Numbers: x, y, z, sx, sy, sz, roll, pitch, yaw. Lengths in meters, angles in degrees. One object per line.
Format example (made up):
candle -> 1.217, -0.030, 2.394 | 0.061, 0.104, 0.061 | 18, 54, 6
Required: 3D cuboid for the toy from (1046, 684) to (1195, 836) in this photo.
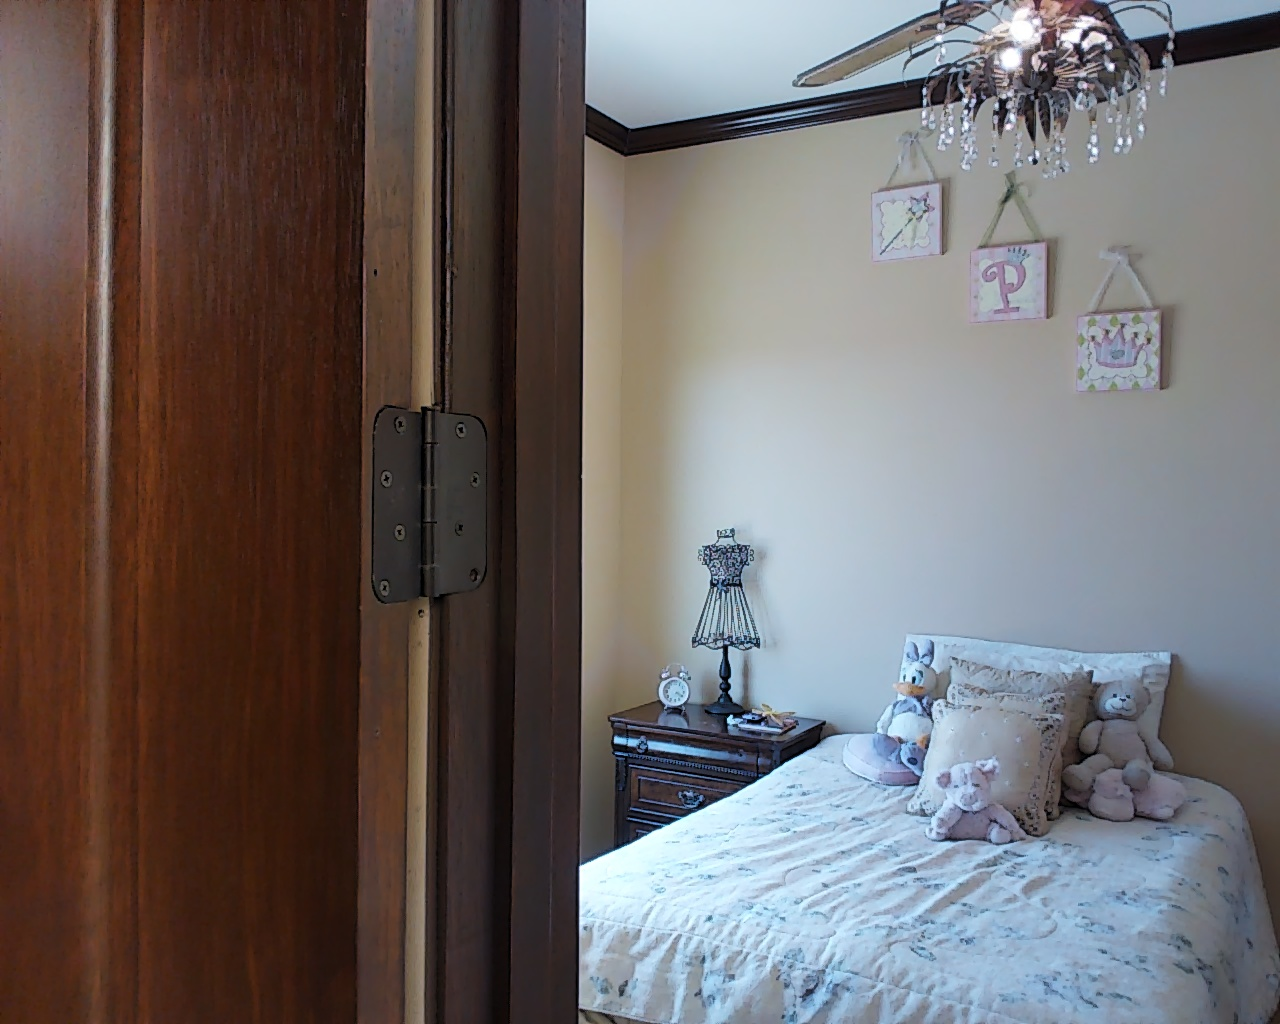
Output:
toy -> 1.390, 0.700, 3.080 | 0.340, 0.320, 0.340 | 2, 1, 32
